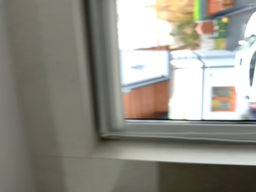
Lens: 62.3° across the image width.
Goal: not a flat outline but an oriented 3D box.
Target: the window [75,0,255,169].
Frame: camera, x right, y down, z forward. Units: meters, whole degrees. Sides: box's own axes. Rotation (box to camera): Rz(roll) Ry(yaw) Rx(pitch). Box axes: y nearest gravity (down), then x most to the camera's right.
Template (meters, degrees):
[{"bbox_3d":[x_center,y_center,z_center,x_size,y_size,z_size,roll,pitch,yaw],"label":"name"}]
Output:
[{"bbox_3d":[0.520,-0.140,0.990,0.330,1.410,0.870,-58,-34,-72],"label":"window"}]
